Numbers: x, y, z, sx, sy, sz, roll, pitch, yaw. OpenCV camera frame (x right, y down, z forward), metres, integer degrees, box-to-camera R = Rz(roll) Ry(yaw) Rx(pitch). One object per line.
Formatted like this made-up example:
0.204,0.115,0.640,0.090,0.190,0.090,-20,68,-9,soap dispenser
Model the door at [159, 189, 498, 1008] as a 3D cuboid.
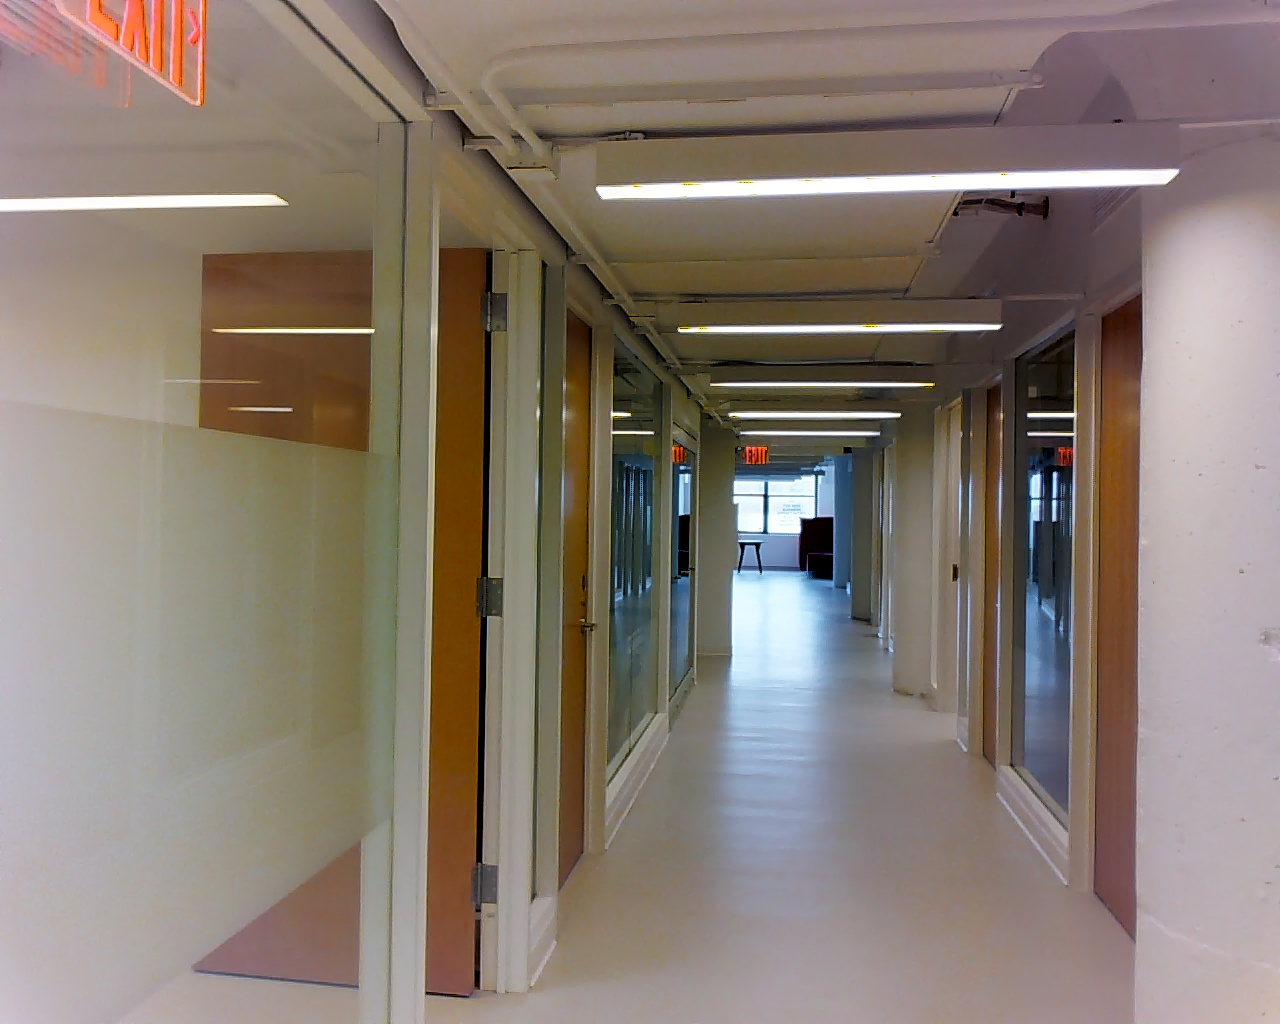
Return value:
-0.950,0.240,3.250,1.000,2.391,0.080,1,0,9,door
